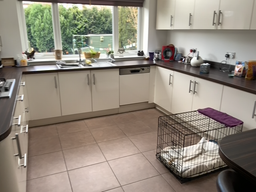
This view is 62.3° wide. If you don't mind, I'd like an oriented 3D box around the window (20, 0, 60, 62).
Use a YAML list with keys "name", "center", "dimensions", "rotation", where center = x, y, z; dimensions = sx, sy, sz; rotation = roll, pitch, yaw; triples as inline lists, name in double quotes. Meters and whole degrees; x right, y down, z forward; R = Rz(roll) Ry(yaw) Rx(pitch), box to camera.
- name: "window"
  center: [-1.540, -1.150, 3.760]
  dimensions: [0.550, 1.030, 0.230]
  rotation: [-6, 19, -21]
